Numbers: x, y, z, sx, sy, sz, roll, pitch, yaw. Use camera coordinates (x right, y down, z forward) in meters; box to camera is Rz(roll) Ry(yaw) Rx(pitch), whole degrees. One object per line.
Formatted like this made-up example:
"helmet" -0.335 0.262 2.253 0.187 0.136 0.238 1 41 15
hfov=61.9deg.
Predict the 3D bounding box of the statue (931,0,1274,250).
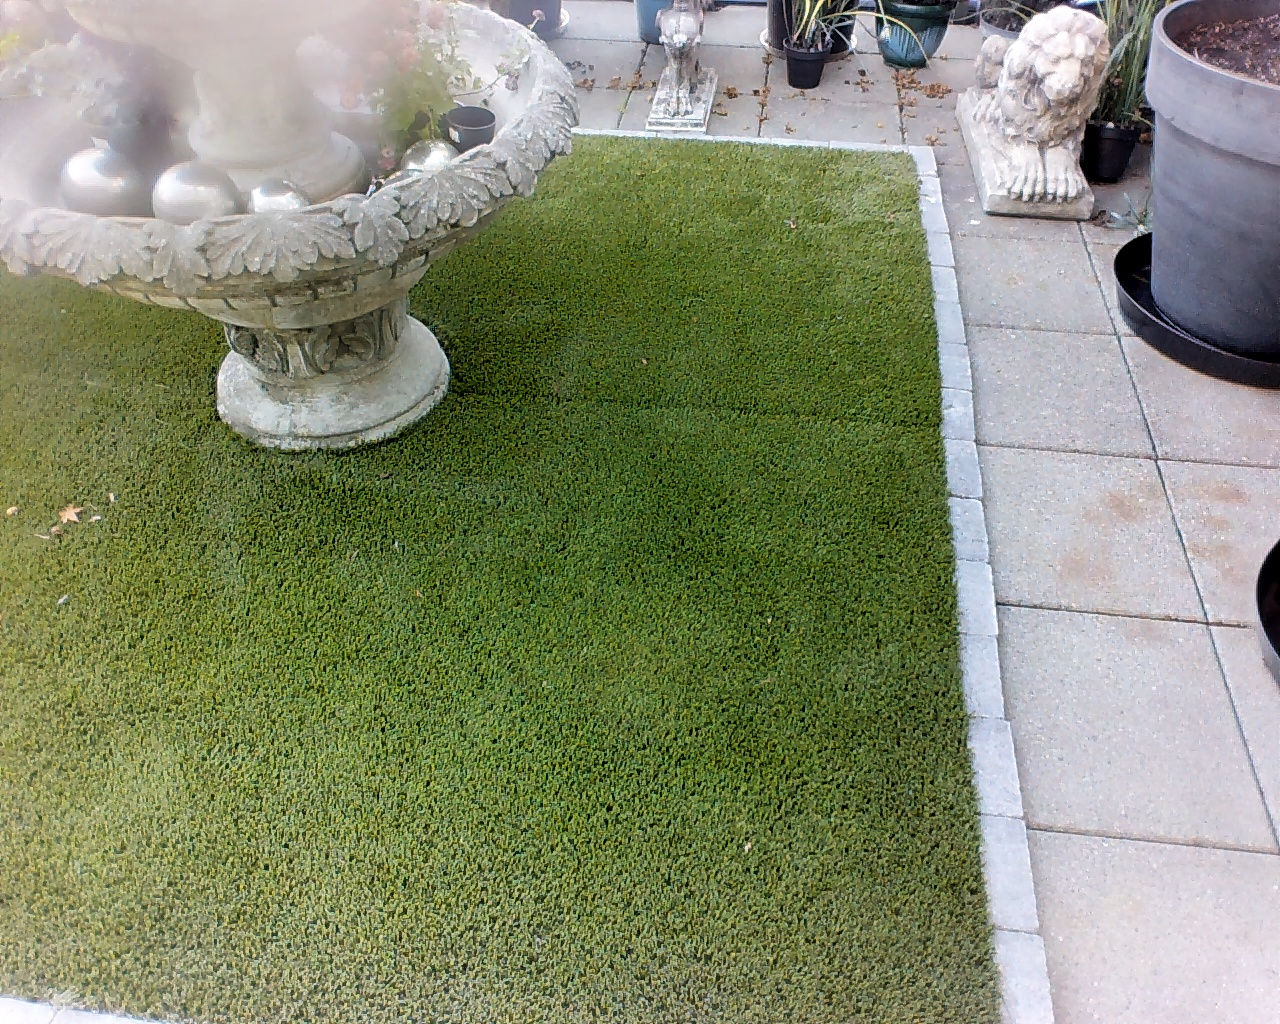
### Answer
"statue" 1.300 -1.390 3.260 0.620 0.560 1.310 5 43 6

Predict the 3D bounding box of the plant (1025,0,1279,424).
"plant" 1.550 -0.780 2.420 0.880 0.690 0.770 -27 48 -26
